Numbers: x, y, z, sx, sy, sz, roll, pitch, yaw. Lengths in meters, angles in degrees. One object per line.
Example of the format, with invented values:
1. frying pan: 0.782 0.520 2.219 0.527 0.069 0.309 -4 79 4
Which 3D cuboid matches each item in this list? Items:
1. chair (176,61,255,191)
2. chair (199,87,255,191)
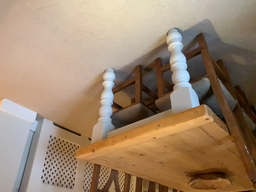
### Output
1. chair: 0.790 0.300 1.780 0.490 0.990 0.460 -25 139 33
2. chair: 1.110 0.500 2.080 0.460 0.980 0.460 -27 138 34
